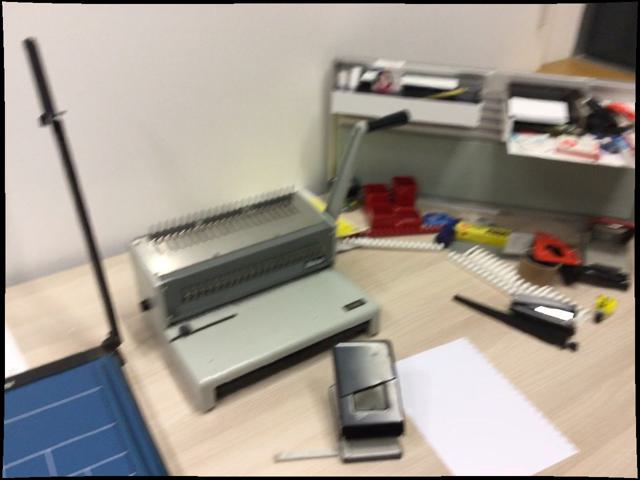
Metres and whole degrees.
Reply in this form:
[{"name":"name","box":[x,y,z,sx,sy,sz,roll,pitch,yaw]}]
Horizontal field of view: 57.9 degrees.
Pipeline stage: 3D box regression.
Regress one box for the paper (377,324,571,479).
[{"name":"paper","box":[0.270,0.280,1.050,0.210,0.020,0.280,-16,39,-24]}]
